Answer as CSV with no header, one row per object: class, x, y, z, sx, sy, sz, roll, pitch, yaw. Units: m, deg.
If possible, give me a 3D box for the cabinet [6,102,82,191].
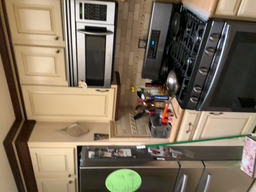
cabinet,-0.860,0.640,2.430,0.640,0.600,0.920,-100,15,-57
